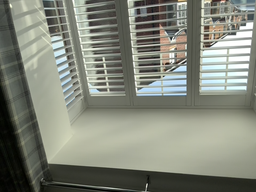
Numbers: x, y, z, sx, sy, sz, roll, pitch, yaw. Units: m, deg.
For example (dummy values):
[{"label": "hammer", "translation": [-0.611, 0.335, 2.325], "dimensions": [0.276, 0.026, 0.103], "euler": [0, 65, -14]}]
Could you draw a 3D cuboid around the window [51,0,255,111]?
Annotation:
[{"label": "window", "translation": [0.250, -0.600, 1.810], "dimensions": [1.730, 1.390, 0.340], "euler": [1, -157, 16]}]
